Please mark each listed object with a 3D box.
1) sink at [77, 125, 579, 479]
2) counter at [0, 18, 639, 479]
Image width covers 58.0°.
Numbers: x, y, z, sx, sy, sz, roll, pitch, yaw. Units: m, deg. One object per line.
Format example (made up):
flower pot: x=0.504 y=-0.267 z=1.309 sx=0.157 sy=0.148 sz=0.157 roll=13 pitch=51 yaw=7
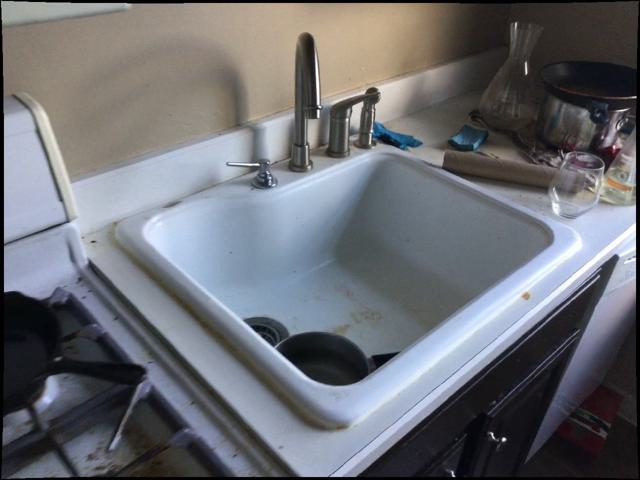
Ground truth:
sink: x=0.020 y=0.080 z=1.070 sx=0.679 sy=0.230 sz=0.550 roll=-27 pitch=45 yaw=-33
counter: x=0.229 y=-0.140 z=1.110 sx=1.359 sy=0.180 sz=0.650 roll=-27 pitch=45 yaw=-33
